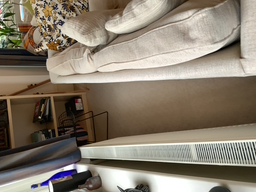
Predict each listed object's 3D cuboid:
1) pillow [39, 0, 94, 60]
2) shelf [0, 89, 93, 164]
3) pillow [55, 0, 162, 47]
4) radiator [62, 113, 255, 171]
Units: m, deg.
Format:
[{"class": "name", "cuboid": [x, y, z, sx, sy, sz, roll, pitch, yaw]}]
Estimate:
[{"class": "pillow", "cuboid": [-0.570, -0.710, 2.030, 0.170, 0.440, 0.630, 11, 93, 27]}, {"class": "shelf", "cuboid": [-1.250, 0.370, 2.800, 0.430, 1.400, 0.810, -20, 77, 52]}, {"class": "pillow", "cuboid": [-0.120, -0.580, 1.490, 0.520, 0.480, 0.260, 20, 98, 28]}, {"class": "radiator", "cuboid": [0.260, 0.300, 1.500, 2.180, 0.700, 0.160, -19, 78, 52]}]
